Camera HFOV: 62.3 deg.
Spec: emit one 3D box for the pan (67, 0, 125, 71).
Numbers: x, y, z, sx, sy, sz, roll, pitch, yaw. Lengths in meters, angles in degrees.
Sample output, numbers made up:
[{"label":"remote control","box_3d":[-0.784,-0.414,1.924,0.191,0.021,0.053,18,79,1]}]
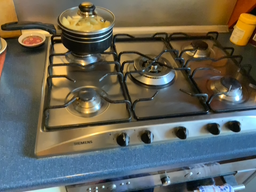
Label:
[{"label":"pan","box_3d":[-0.120,-0.220,0.740,0.160,0.130,0.250,-5,45,-12]}]
